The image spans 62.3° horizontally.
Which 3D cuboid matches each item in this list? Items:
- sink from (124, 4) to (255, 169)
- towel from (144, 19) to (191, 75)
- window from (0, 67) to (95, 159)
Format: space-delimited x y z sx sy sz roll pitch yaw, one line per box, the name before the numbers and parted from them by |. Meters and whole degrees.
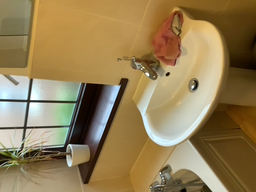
sink | 0.230 -0.040 0.930 0.430 0.190 0.540 59 135 44
towel | 0.160 -0.210 0.910 0.170 0.050 0.170 59 136 44
window | -0.720 0.130 1.250 0.040 0.940 0.640 55 132 47
